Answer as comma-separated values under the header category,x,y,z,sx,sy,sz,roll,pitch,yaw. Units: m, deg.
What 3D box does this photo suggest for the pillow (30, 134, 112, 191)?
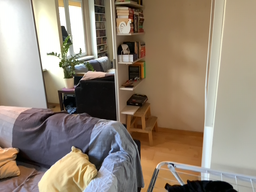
category,x,y,z,sx,sy,sz,roll,pitch,yaw
pillow,-0.440,0.610,1.570,0.220,0.470,0.440,58,-7,-37
